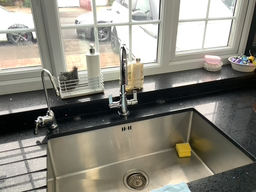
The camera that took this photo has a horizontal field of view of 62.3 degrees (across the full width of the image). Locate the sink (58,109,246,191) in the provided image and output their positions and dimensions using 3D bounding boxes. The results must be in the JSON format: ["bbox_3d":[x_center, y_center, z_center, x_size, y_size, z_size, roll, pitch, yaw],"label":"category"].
[{"bbox_3d":[0.070,0.300,0.880,0.640,0.250,0.350,-9,28,-17],"label":"sink"}]
